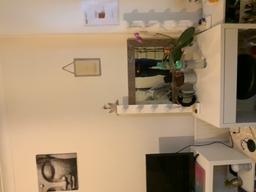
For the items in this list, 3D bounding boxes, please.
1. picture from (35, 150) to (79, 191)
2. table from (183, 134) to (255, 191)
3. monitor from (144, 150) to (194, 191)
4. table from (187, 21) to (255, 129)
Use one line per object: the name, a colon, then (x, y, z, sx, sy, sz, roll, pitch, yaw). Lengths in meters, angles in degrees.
picture: (-0.690, 0.740, 2.090, 0.030, 0.390, 0.390, -119, 27, -81)
table: (0.990, 0.840, 1.990, 0.520, 0.780, 0.780, -116, 24, -80)
monitor: (0.380, 0.870, 1.950, 0.040, 0.450, 0.730, -125, 34, -83)
table: (0.980, -0.190, 1.800, 0.590, 0.750, 0.750, -116, 24, -80)
